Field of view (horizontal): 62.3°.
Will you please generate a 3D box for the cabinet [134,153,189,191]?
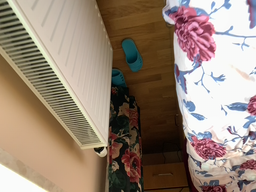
[{"bbox_3d":[0.320,0.800,1.990,0.440,0.330,0.430,-8,140,9],"label":"cabinet"}]
